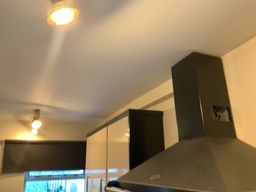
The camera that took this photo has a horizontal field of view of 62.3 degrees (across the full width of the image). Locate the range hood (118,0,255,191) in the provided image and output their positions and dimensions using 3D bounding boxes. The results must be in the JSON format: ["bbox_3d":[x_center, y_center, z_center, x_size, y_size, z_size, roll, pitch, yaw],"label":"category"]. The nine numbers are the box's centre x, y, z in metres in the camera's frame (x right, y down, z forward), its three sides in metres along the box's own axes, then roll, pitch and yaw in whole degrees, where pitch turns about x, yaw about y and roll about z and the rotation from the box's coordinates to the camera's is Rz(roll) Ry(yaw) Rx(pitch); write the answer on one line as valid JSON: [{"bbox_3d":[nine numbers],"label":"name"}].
[{"bbox_3d":[0.320,0.110,1.150,0.410,0.710,0.920,7,-20,-25],"label":"range hood"}]
